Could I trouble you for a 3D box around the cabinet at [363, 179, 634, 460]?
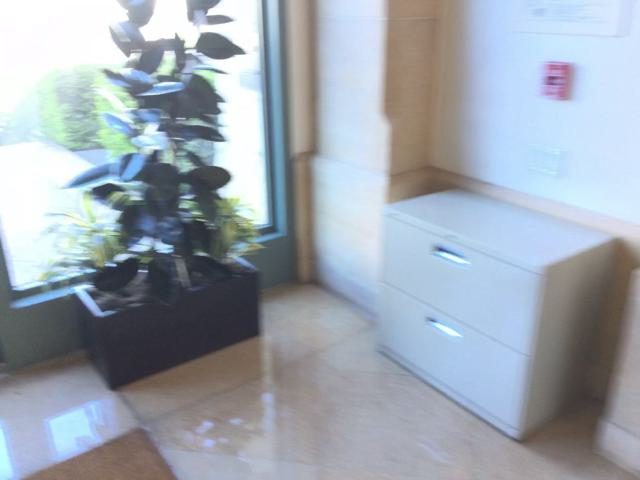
[{"bbox_3d":[0.650,0.240,2.390,0.570,0.750,0.860,-12,22,-26],"label":"cabinet"}]
